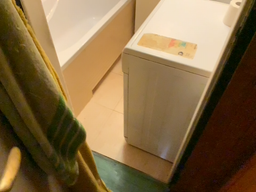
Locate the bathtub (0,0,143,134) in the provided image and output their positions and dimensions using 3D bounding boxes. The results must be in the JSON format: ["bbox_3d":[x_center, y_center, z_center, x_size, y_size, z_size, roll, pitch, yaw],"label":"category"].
[{"bbox_3d":[-0.470,-0.500,1.870,0.710,0.570,1.400,20,52,15],"label":"bathtub"}]
